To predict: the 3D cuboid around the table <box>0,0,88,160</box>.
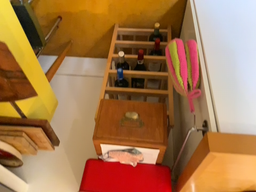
[{"bbox_3d":[-0.560,-0.190,1.040,0.440,0.750,0.700,1,143,7],"label":"table"}]
